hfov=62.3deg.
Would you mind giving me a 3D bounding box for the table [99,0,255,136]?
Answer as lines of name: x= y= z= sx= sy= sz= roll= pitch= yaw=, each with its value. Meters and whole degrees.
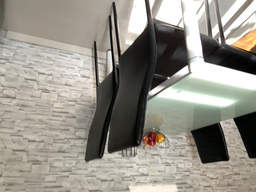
table: x=0.330 y=-0.200 z=1.560 sx=0.740 sy=0.740 sz=1.100 roll=9 pitch=157 yaw=-24
